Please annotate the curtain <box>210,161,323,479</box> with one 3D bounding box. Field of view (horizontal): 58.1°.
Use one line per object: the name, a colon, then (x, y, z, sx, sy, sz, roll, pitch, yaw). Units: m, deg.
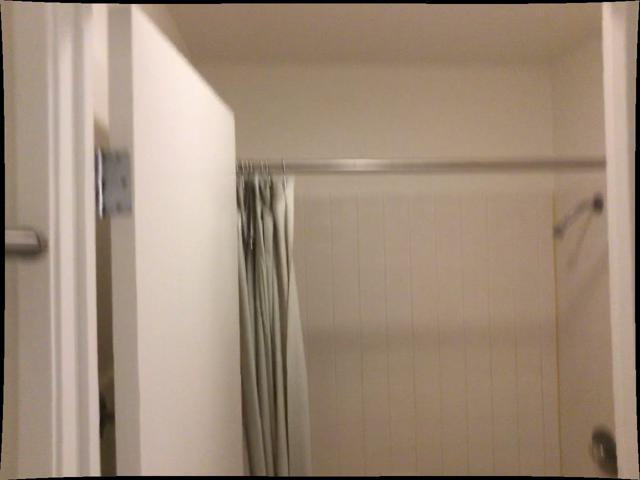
curtain: (-0.140, 0.591, 1.630, 0.280, 1.593, 0.240, -1, -2, -3)
